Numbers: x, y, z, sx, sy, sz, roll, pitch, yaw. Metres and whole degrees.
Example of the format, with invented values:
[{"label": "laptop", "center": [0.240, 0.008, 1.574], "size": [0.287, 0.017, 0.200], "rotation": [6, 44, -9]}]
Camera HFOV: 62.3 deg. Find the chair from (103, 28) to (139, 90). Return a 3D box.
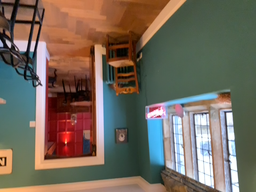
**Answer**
[{"label": "chair", "center": [-0.100, -0.570, 3.490], "size": [0.420, 0.880, 0.490], "rotation": [-4, 174, 19]}]
